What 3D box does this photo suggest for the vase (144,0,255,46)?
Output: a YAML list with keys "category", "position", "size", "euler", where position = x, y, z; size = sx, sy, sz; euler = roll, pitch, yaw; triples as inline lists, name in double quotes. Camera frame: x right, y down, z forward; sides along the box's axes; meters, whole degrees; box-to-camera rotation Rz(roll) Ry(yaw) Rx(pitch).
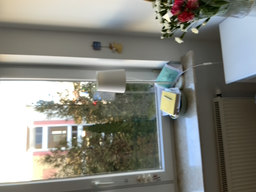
- category: "vase"
  position: [0.390, -0.410, 0.950]
  size: [0.430, 0.510, 0.190]
  euler: [148, 121, -73]
